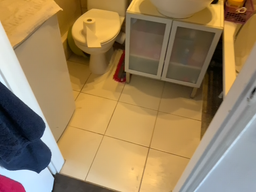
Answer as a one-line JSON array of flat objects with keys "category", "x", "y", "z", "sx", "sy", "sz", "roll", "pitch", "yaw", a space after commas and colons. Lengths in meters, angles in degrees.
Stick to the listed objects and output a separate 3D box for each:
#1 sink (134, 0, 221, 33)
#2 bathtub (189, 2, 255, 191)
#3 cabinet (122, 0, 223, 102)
[{"category": "sink", "x": 0.320, "y": -0.630, "z": 1.340, "sx": 0.460, "sy": 0.160, "sz": 0.450, "roll": 14, "pitch": 50, "yaw": 8}, {"category": "bathtub", "x": 0.890, "y": 0.000, "z": 1.450, "sx": 0.680, "sy": 0.570, "sz": 1.380, "roll": 14, "pitch": 50, "yaw": 8}, {"category": "cabinet", "x": 0.310, "y": -0.380, "z": 1.680, "sx": 0.610, "sy": 0.670, "sz": 0.380, "roll": 14, "pitch": 50, "yaw": 8}]
